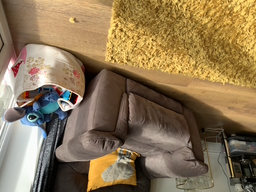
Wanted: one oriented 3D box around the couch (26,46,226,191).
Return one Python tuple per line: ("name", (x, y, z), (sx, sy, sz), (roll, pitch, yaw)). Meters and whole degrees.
("couch", (0.000, 0.490, 1.780), (1.220, 1.020, 0.930), (24, 142, -33))
